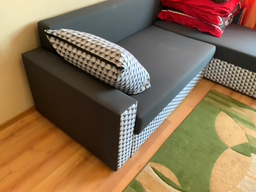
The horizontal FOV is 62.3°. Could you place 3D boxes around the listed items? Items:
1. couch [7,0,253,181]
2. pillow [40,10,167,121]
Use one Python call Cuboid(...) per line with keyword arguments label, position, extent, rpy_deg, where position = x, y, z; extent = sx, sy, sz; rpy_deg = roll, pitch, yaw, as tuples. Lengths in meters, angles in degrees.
Cuboid(label="couch", position=(0.300, -0.490, 2.030), extent=(0.950, 0.740, 2.240), rpy_deg=(29, 47, 26))
Cuboid(label="pillow", position=(-0.170, -0.250, 1.450), extent=(0.670, 0.380, 0.440), rpy_deg=(31, 48, 27))
